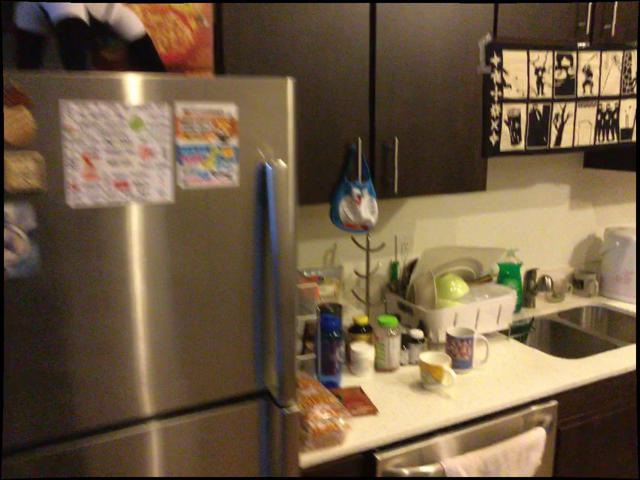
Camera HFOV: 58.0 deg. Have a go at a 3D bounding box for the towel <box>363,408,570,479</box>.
[{"bbox_3d":[0.369,0.591,1.440,0.529,0.190,0.120,-6,16,-23],"label":"towel"}]
